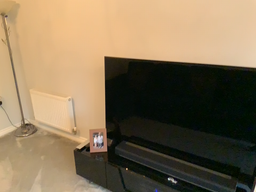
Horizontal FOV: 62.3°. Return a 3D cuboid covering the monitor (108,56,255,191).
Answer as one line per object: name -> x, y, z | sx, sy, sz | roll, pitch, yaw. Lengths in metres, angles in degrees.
monitor -> 0.360, 0.140, 1.540 | 1.210, 0.770, 0.070 | 11, 18, 31

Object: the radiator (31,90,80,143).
radiator -> -0.920, 0.240, 2.670 | 0.760, 0.510, 0.080 | 12, 23, 33
